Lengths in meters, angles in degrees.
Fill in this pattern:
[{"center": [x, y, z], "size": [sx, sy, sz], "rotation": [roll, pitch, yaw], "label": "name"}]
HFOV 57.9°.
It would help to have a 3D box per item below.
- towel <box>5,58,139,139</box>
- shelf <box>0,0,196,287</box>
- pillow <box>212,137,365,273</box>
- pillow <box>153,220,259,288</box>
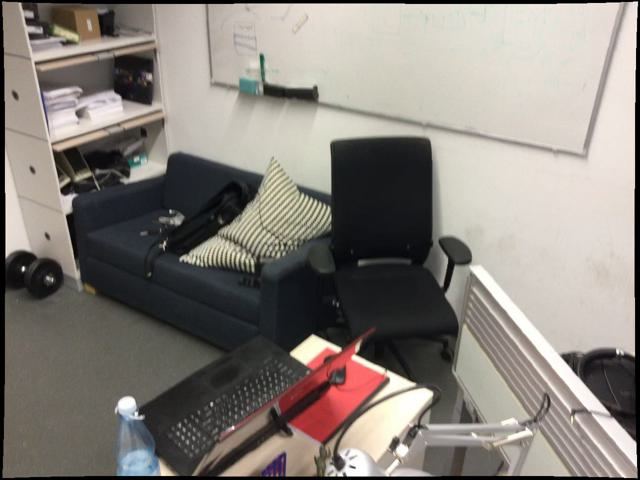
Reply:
[{"center": [-1.319, -0.781, 3.130], "size": [0.300, 0.250, 0.560], "rotation": [18, 35, 28], "label": "towel"}, {"center": [-1.299, -0.931, 3.160], "size": [0.490, 2.162, 0.920], "rotation": [18, 35, 28], "label": "shelf"}, {"center": [-0.140, -0.200, 2.870], "size": [0.510, 0.380, 0.550], "rotation": [18, 35, 28], "label": "pillow"}, {"center": [-0.559, 0.060, 2.830], "size": [0.500, 0.120, 0.200], "rotation": [18, 35, 28], "label": "pillow"}]
